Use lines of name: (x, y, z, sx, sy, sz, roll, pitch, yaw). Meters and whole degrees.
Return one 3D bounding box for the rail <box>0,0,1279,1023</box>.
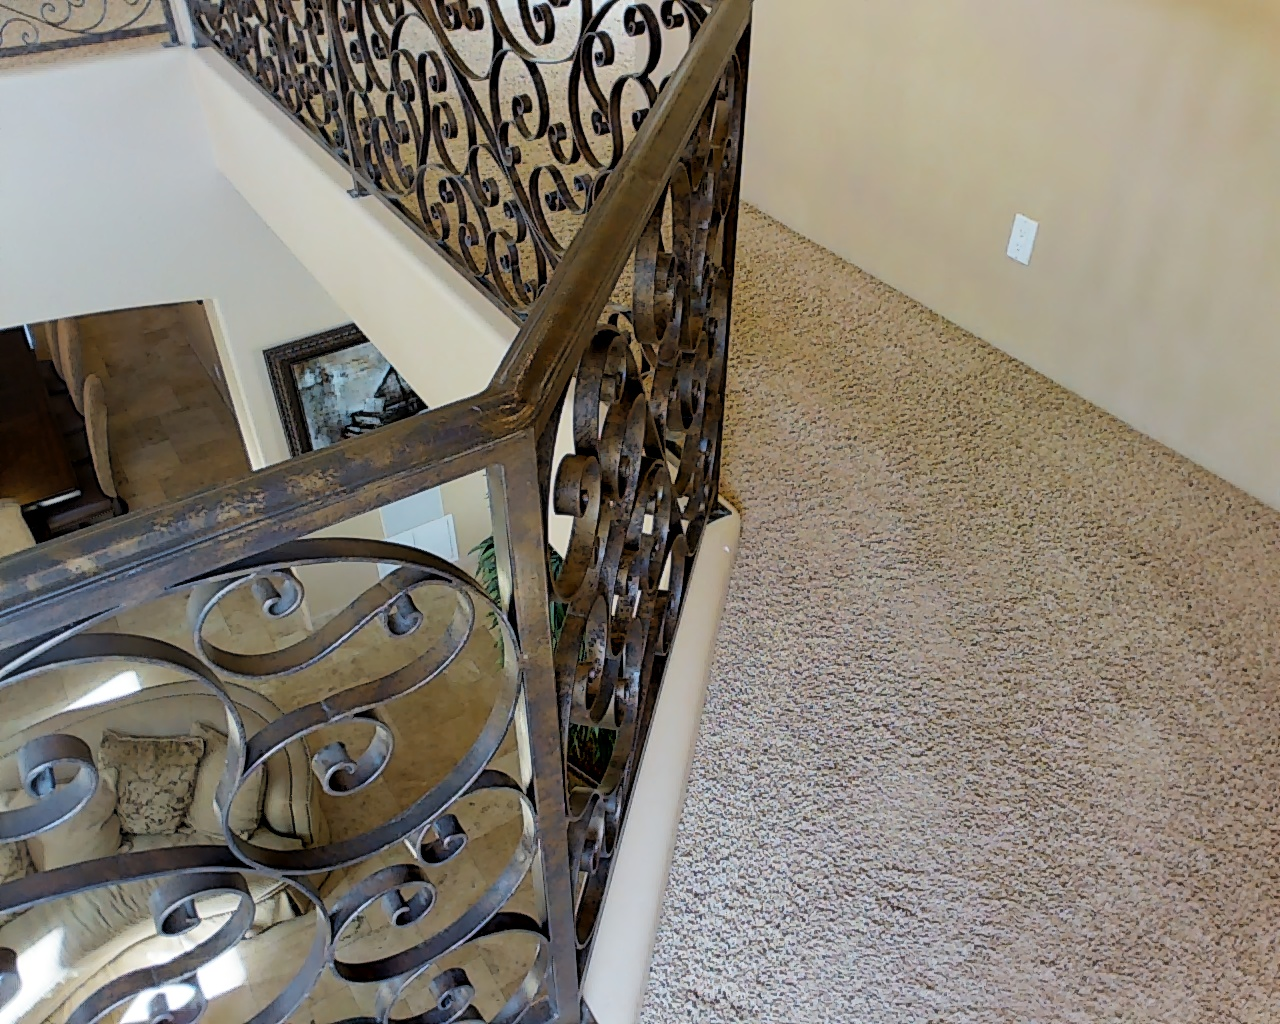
rail: (-0.970, -1.130, 2.790, 0.980, 1.130, 4.710, -23, 46, -24)
